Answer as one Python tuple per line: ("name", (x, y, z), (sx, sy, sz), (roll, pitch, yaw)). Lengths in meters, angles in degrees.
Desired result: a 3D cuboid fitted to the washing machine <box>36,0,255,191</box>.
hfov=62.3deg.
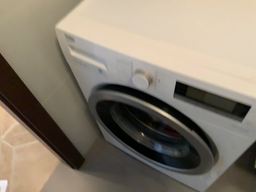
("washing machine", (0.200, -0.040, 0.960), (0.640, 0.840, 0.590), (24, 61, 19))
